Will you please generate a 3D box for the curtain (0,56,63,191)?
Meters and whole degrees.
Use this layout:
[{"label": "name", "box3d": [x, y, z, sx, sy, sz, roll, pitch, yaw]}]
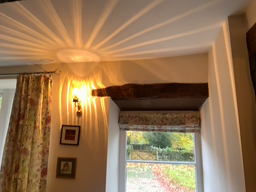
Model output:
[{"label": "curtain", "box3d": [-1.020, 0.510, 2.210, 0.460, 1.840, 0.210, -3, -13, 16]}]
